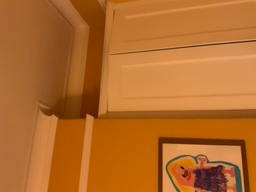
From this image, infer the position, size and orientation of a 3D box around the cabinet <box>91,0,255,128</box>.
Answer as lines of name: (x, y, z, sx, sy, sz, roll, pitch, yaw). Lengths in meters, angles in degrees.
cabinet: (0.640, -0.340, 1.820, 0.340, 1.820, 1.180, 48, -138, -67)
